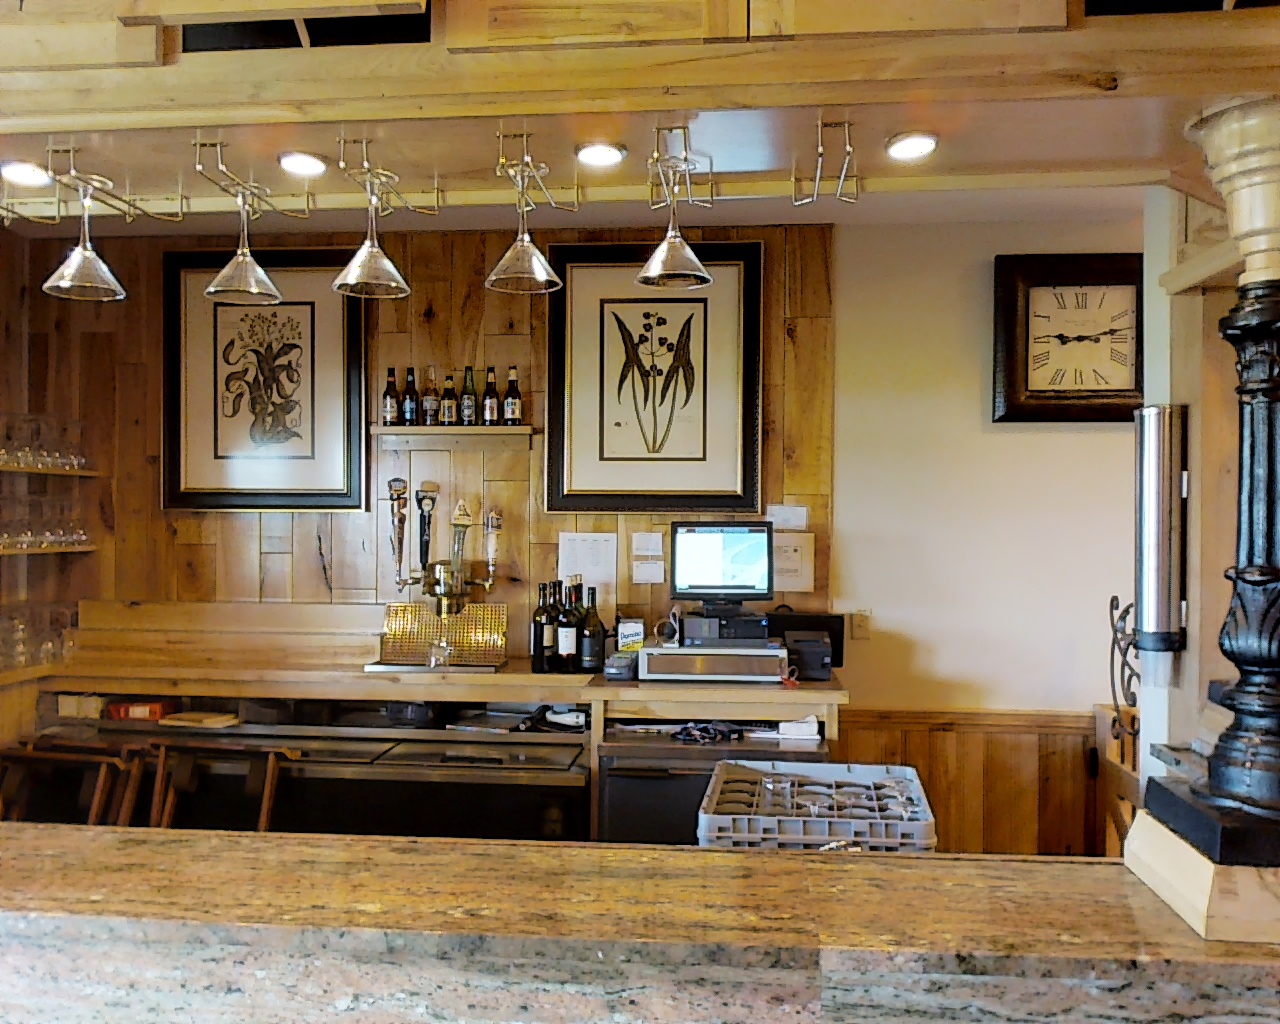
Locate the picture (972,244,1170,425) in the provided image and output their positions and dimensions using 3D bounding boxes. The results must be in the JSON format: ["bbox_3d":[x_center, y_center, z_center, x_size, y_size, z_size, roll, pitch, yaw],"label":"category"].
[{"bbox_3d":[1.560,-0.640,3.890,0.680,0.640,0.040,0,0,6],"label":"picture"}]
